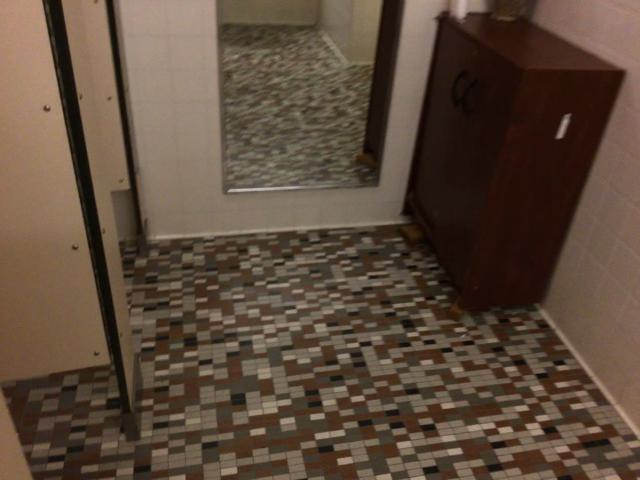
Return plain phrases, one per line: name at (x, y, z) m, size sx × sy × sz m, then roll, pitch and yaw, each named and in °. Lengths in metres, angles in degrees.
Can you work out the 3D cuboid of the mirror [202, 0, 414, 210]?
mirror at (-0.050, -0.610, 1.980) m, size 0.670 × 1.050 × 0.140 m, roll -3°, pitch 34°, yaw -12°
